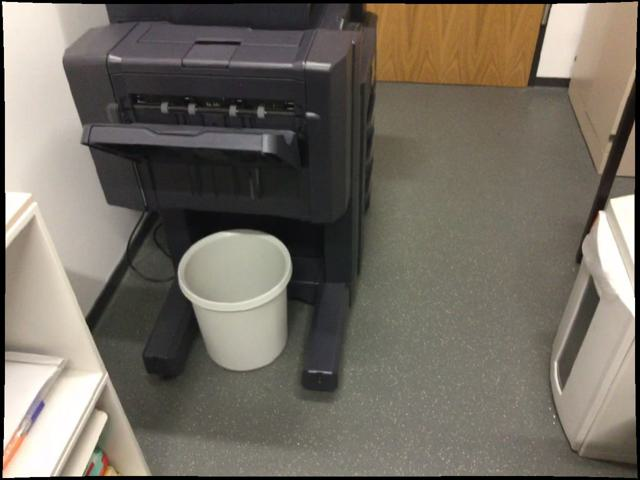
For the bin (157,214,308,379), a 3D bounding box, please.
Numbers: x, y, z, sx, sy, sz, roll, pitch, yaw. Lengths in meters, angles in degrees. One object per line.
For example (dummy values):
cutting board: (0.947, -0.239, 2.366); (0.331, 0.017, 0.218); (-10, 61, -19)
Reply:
bin: (-0.230, 0.160, 1.690); (0.330, 0.310, 0.320); (6, 42, 8)
